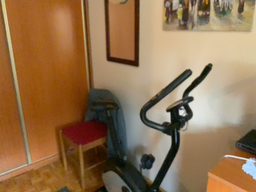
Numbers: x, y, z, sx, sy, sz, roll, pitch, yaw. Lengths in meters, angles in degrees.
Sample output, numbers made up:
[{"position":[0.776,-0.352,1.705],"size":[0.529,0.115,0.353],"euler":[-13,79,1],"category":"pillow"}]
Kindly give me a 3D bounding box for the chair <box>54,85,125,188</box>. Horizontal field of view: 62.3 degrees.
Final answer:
[{"position":[-0.380,0.370,2.180],"size":[0.480,0.810,0.500],"euler":[-15,23,-39],"category":"chair"}]
